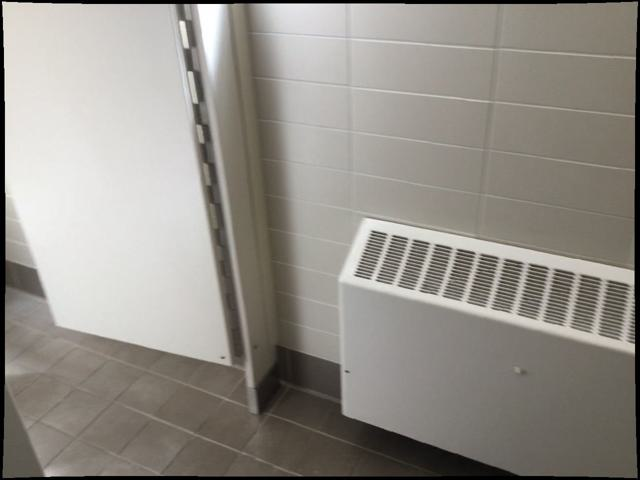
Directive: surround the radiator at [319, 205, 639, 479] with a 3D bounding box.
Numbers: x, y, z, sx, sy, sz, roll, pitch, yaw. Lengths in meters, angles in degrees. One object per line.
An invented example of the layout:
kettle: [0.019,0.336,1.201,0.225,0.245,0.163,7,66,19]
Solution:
radiator: [0.440,0.280,1.280,0.869,0.540,0.190,13,34,25]
